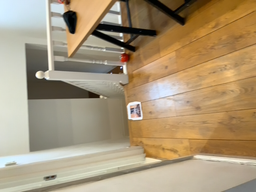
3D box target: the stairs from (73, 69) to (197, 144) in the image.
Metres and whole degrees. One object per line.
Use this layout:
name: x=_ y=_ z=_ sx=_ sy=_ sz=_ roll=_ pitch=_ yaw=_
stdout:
stairs: x=-0.070 y=0.330 z=4.030 sx=2.250 sy=1.270 sz=0.980 roll=-21 pitch=73 yaw=58

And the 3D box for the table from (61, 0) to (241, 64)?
table: x=0.050 y=-0.910 z=1.760 sx=1.590 sy=0.790 sz=0.800 roll=-18 pitch=75 yaw=58
